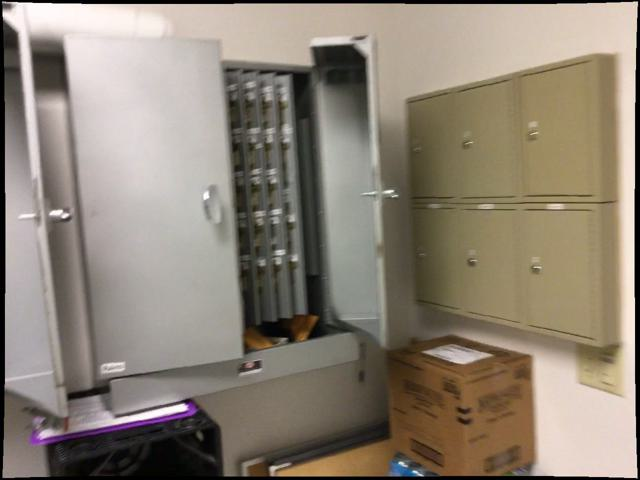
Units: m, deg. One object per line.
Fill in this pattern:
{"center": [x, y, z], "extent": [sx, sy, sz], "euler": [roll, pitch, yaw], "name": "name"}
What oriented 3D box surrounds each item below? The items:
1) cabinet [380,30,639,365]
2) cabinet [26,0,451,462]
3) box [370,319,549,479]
{"center": [0.440, -0.110, 1.510], "extent": [0.110, 0.681, 0.730], "euler": [-8, 9, -30], "name": "cabinet"}
{"center": [-0.170, -0.120, 1.340], "extent": [0.779, 0.881, 0.480], "euler": [-8, 9, -30], "name": "cabinet"}
{"center": [0.370, 0.460, 1.580], "extent": [0.270, 0.370, 0.390], "euler": [-8, 9, -30], "name": "box"}
